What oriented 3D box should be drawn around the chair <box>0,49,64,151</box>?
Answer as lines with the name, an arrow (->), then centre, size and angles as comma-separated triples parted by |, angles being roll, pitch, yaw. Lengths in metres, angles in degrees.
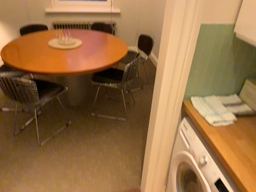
chair -> -1.020, 0.040, 2.170 | 0.460, 0.850, 0.500 | 8, 32, 7

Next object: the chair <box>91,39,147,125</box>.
chair -> -0.120, -0.180, 2.620 | 0.460, 0.850, 0.450 | 22, 36, 27
